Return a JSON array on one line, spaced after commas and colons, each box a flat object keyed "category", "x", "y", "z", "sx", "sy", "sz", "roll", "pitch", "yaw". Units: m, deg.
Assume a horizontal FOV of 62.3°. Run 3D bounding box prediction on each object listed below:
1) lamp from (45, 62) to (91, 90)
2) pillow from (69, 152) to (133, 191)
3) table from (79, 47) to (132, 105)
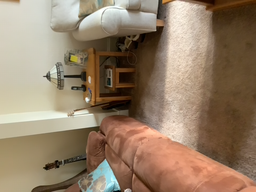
[{"category": "lamp", "x": -0.720, "y": -0.250, "z": 2.550, "sx": 0.280, "sy": 0.470, "sz": 0.280, "roll": 28, "pitch": 117, "yaw": 57}, {"category": "pillow", "x": -0.270, "y": 0.860, "z": 2.050, "sx": 0.440, "sy": 0.410, "sz": 0.240, "roll": 25, "pitch": 156, "yaw": 54}, {"category": "table", "x": -0.300, "y": -0.270, "z": 2.690, "sx": 0.490, "sy": 0.500, "sz": 0.650, "roll": 18, "pitch": 110, "yaw": 60}]
